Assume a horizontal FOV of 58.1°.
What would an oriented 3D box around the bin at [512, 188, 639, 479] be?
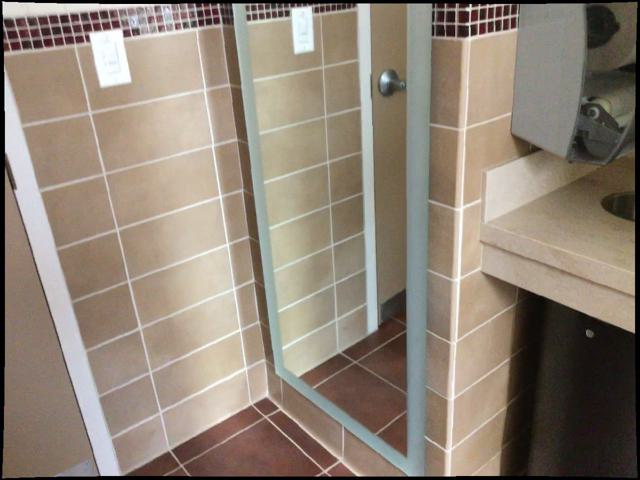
[{"bbox_3d":[0.658,0.371,1.250,0.280,0.872,0.330,-21,29,-34],"label":"bin"}]
